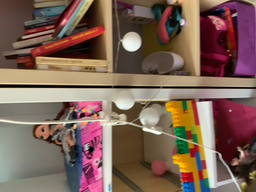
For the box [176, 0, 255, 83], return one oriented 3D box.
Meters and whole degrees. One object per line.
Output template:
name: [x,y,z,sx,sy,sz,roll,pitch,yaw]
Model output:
box: [0.470,-0.250,1.030,0.290,0.350,0.350,-3,89,63]
